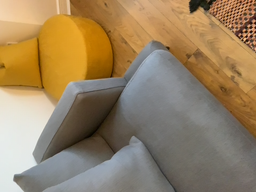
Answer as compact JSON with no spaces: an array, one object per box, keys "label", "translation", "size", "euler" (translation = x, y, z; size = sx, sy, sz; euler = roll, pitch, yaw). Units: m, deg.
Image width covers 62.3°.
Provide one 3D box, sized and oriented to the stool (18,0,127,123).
[{"label":"stool","translation":[-0.490,-0.290,1.710],"size":[0.660,0.340,0.710],"euler":[52,125,19]}]
